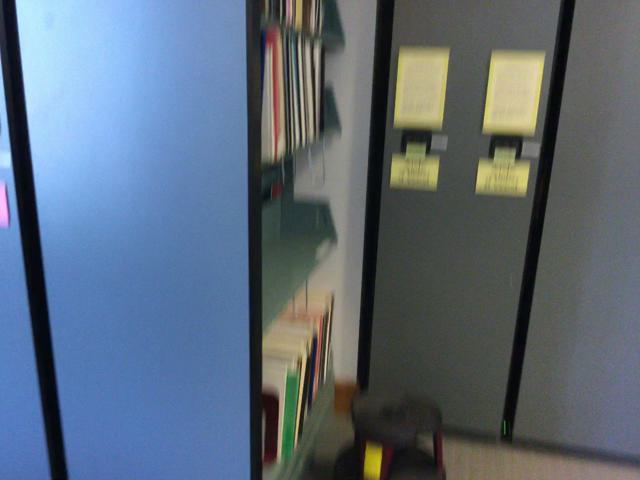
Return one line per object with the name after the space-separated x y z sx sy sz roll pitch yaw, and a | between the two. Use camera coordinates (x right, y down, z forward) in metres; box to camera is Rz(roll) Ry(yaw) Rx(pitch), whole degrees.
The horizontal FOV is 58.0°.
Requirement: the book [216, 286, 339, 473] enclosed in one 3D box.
-0.110 0.430 1.980 0.230 0.340 0.670 1 14 12 | book

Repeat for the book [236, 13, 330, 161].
-0.070 -0.390 1.510 0.070 0.300 0.620 1 14 12 | book
